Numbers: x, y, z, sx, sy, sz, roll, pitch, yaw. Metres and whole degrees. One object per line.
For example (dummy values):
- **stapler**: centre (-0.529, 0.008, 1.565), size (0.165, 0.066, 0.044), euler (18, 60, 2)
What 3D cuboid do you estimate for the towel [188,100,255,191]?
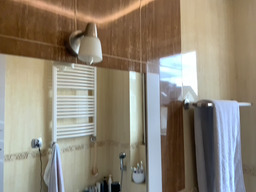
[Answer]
- **towel**: centre (0.550, 0.440, 1.200), size (0.180, 0.820, 0.470), euler (-4, -4, 45)
